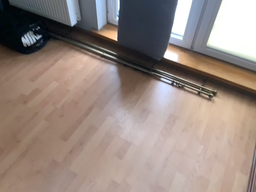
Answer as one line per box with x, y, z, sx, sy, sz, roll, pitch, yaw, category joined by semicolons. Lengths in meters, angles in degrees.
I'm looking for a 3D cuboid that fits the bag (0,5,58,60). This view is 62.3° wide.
-1.060;-0.630;2.050;0.590;0.190;0.400;22;52;15;bag
